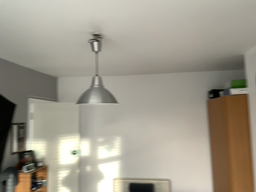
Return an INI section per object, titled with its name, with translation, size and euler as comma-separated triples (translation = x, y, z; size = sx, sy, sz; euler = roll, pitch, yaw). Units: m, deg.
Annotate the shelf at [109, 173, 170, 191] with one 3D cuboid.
[shelf]
translation = 0.200, 1.680, 3.700
size = 1.040, 0.570, 0.150
euler = -1, -5, 8
